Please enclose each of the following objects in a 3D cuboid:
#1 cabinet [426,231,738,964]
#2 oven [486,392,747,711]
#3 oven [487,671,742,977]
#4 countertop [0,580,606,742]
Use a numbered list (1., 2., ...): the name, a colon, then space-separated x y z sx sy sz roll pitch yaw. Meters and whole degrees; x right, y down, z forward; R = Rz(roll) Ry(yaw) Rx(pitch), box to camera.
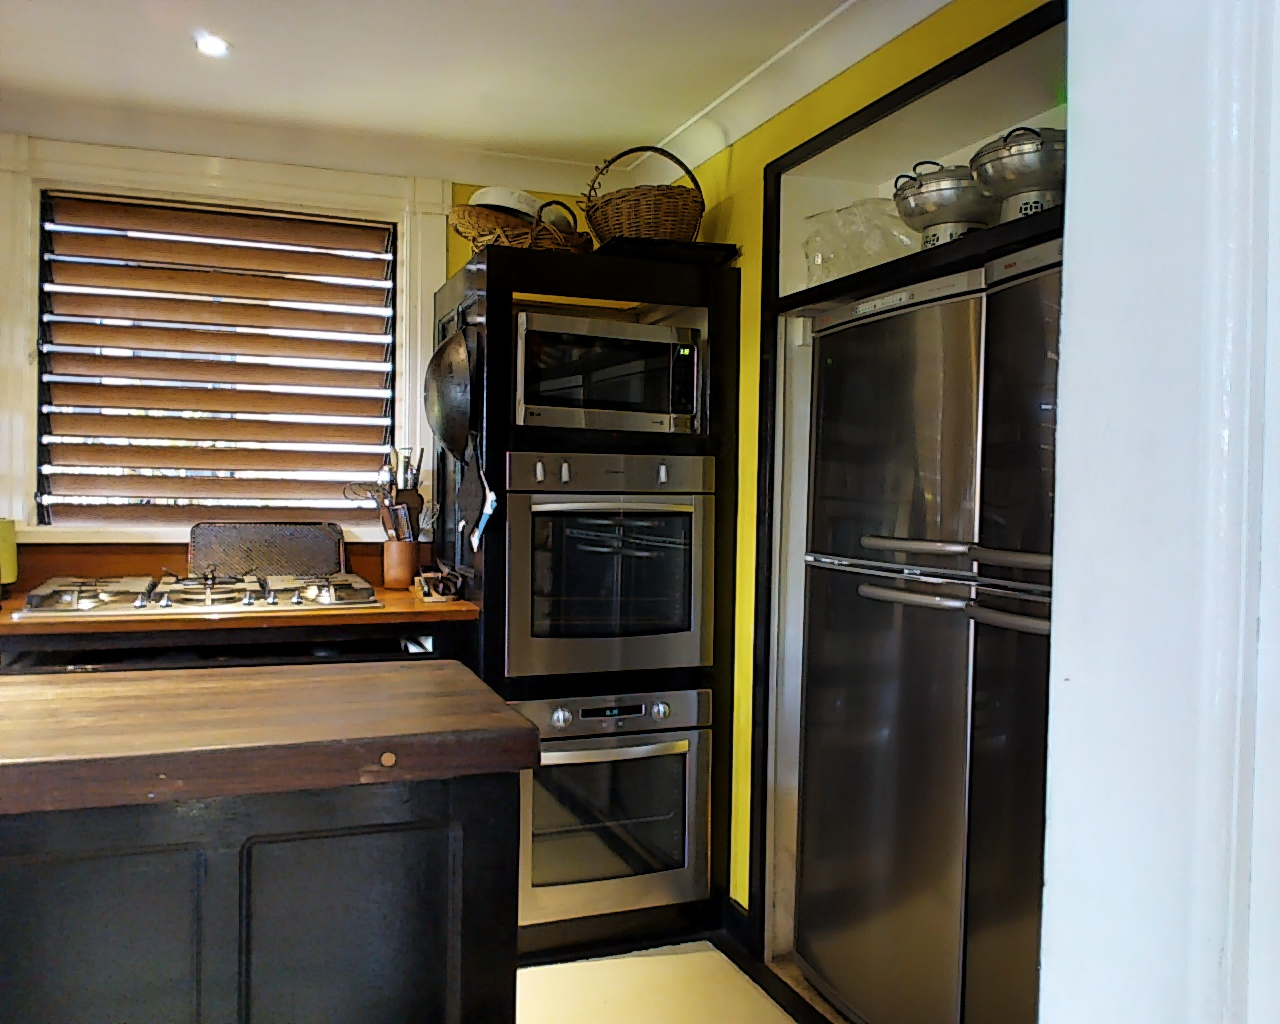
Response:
1. cabinet: -0.210 0.220 3.280 0.750 1.911 0.740 0 1 -21
2. oven: -0.060 0.100 2.970 0.700 0.820 0.170 0 1 -21
3. oven: -0.060 0.830 2.940 0.710 0.740 0.080 0 1 -21
4. countertop: -1.909 0.280 2.110 3.289 0.070 1.750 0 1 -21
